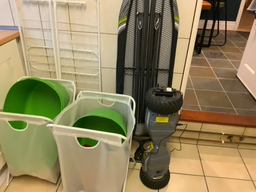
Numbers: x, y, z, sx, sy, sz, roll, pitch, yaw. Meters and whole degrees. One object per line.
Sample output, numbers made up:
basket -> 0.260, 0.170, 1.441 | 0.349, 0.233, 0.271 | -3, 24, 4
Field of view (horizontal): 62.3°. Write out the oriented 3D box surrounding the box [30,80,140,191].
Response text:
box -> -0.200, 0.320, 1.370 | 0.490, 0.630, 0.540 | 4, 32, 3

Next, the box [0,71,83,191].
box -> -0.630, 0.240, 1.480 | 0.430, 0.590, 0.600 | 5, 32, 4
